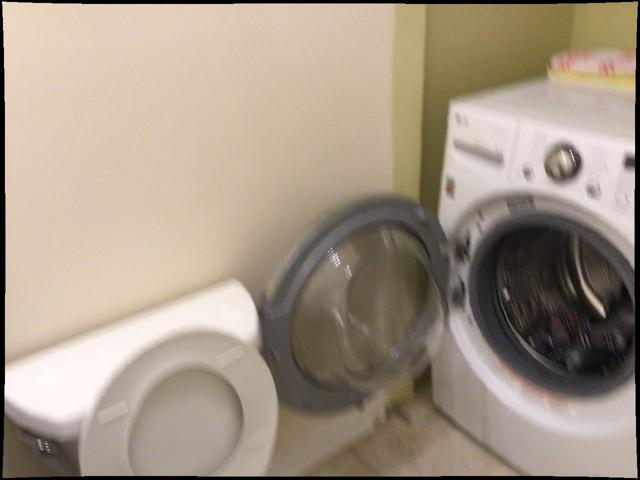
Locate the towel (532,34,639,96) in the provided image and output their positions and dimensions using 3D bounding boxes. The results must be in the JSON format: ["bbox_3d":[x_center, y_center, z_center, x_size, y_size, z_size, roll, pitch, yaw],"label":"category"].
[{"bbox_3d":[0.789,-0.470,1.540,0.220,0.090,0.350,-22,33,-31],"label":"towel"}]

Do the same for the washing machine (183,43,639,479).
[{"bbox_3d":[0.509,0.160,1.440,1.279,0.991,0.850,-22,33,-31],"label":"washing machine"}]
